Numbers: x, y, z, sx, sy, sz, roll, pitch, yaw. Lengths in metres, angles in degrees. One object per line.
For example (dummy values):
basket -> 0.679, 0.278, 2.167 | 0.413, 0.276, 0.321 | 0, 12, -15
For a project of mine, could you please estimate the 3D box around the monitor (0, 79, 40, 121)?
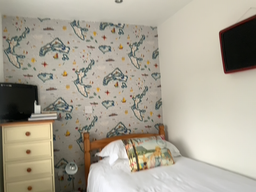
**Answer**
monitor -> -1.070, 0.040, 2.080 | 0.040, 0.370, 0.500 | -4, -2, 22

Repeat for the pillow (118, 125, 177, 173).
pillow -> 0.180, 0.520, 2.070 | 0.520, 0.150, 0.350 | -15, -42, -12
